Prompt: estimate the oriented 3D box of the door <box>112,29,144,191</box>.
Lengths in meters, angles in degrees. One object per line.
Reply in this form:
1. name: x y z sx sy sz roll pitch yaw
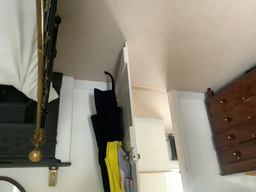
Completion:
1. door: -0.030 0.410 1.990 0.040 1.920 0.820 2 155 -13
